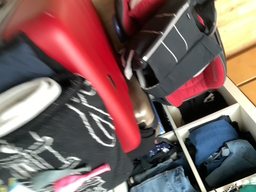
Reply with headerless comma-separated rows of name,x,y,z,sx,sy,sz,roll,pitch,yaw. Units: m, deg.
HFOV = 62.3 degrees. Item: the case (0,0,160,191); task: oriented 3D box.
case,-0.220,-0.130,0.800,0.300,0.810,0.540,-25,131,7
